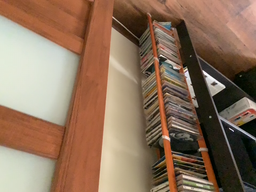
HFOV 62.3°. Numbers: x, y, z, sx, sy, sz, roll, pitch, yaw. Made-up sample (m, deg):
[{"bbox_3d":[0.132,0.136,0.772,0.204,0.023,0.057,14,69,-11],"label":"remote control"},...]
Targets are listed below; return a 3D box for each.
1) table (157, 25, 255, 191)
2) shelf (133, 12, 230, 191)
[{"bbox_3d":[0.510,0.140,1.180,0.620,1.040,0.230,28,132,-28],"label":"table"},{"bbox_3d":[0.180,0.050,0.930,0.210,1.140,0.210,28,132,-28],"label":"shelf"}]
